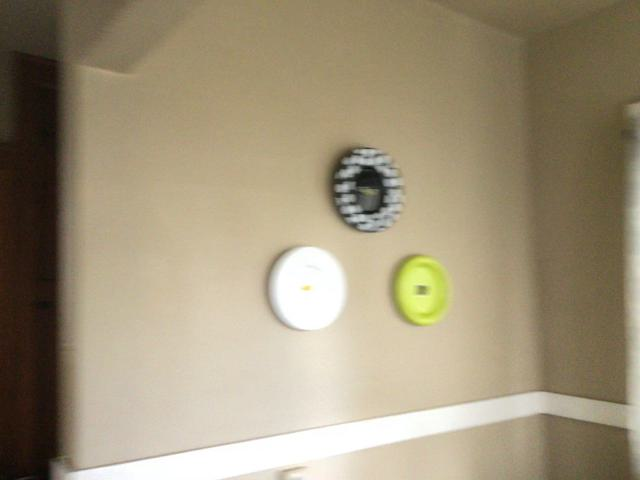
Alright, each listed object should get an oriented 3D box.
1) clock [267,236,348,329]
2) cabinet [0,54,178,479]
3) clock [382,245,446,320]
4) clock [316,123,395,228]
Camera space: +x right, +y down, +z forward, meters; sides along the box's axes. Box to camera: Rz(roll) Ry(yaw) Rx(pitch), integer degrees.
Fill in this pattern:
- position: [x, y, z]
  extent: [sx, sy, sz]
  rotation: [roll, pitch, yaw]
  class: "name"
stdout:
- position: [-0.030, 0.130, 1.710]
  extent: [0.270, 0.260, 0.020]
  rotation: [7, -10, -35]
  class: "clock"
- position: [-1.080, 0.130, 2.720]
  extent: [0.670, 1.830, 0.250]
  rotation: [7, -10, -35]
  class: "cabinet"
- position: [0.320, 0.150, 1.960]
  extent: [0.250, 0.240, 0.050]
  rotation: [7, -10, -35]
  class: "clock"
- position: [0.120, -0.200, 1.850]
  extent: [0.290, 0.290, 0.040]
  rotation: [7, -10, -35]
  class: "clock"
